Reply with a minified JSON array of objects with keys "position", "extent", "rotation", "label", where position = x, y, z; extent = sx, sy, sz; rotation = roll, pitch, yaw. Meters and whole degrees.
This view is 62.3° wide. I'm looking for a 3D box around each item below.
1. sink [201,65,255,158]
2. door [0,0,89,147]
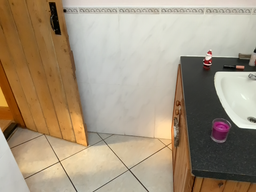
[{"position":[0.680,0.050,1.210],"extent":[0.400,0.190,0.620],"rotation":[3,34,9],"label":"sink"},{"position":[-0.860,-0.390,1.730],"extent":[0.910,1.920,0.050],"rotation":[11,35,19],"label":"door"}]
